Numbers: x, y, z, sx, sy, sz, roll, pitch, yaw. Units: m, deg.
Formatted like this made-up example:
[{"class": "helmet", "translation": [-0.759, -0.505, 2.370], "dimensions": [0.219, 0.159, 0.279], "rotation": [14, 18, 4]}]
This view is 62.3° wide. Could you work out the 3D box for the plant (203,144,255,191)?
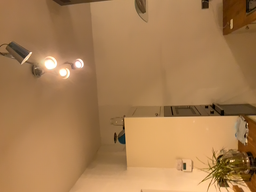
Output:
[{"class": "plant", "translation": [0.800, 0.550, 1.550], "dimensions": [0.350, 0.410, 0.290], "rotation": [-24, -68, -80]}]
